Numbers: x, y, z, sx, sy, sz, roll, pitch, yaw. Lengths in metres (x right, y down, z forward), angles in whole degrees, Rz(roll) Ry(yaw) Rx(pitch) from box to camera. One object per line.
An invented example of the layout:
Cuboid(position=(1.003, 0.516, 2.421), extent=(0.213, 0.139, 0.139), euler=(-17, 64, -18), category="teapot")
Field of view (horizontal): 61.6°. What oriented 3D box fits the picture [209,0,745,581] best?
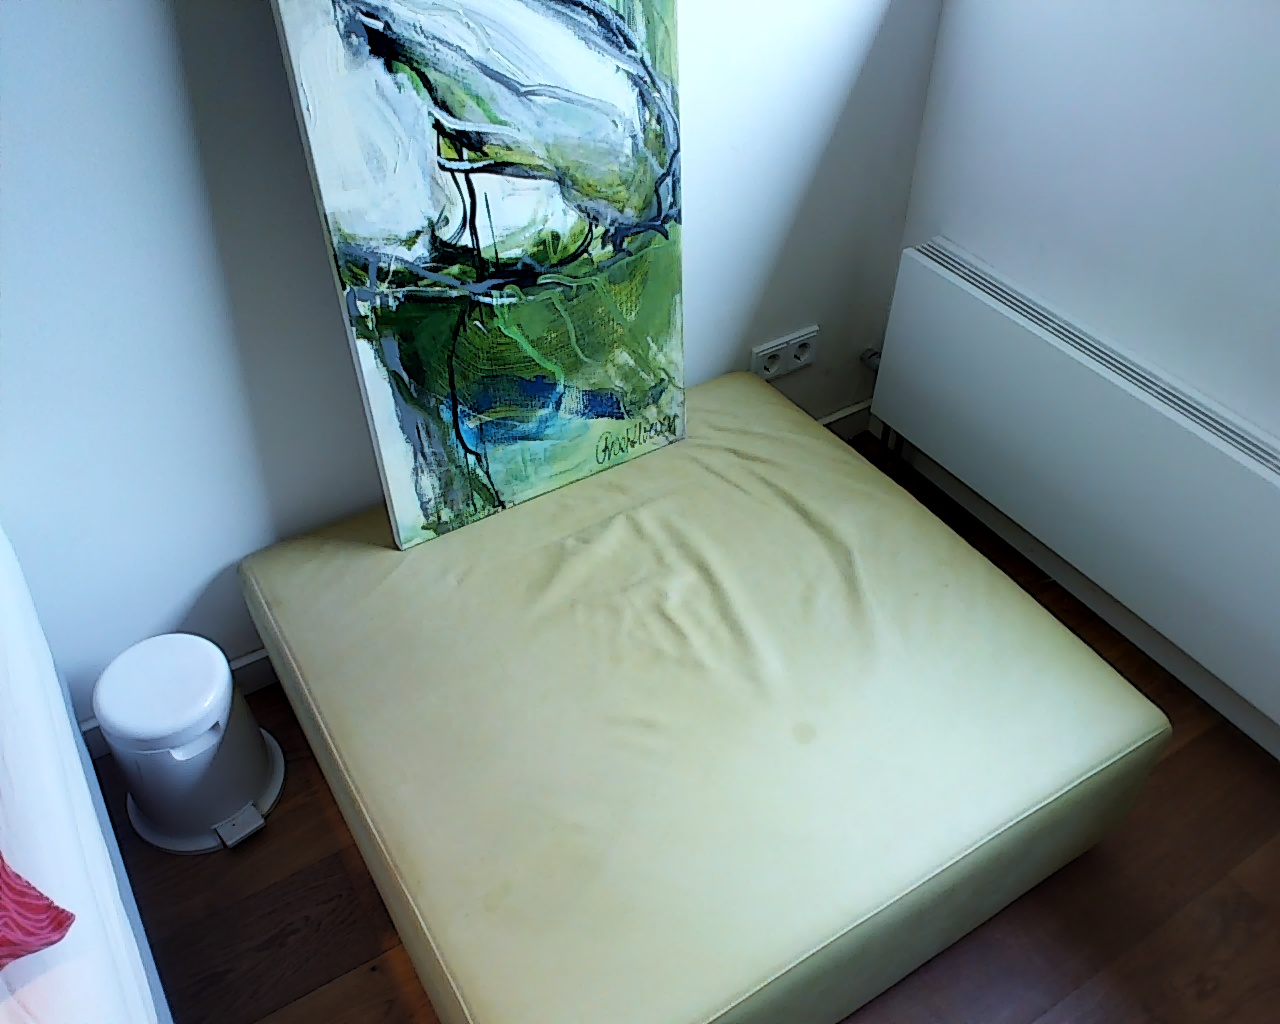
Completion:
Cuboid(position=(-0.170, -0.650, 1.200), extent=(0.600, 1.530, 0.160), euler=(-23, 43, -23), category="picture")
